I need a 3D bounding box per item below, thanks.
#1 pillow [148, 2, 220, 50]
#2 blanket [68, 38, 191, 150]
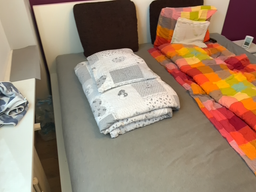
[{"bbox_3d":[0.520,-0.680,2.040,0.580,0.330,0.240,-9,39,-12],"label":"pillow"},{"bbox_3d":[-0.060,-0.100,1.490,0.550,0.230,0.870,-12,40,-16],"label":"blanket"}]
